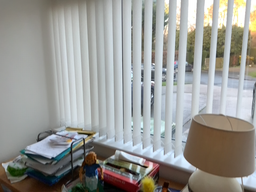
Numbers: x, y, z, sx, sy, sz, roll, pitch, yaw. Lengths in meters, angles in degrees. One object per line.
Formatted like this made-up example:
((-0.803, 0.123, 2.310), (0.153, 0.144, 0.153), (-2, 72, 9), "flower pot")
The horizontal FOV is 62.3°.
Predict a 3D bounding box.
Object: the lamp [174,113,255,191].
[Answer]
((0.390, 0.340, 0.950), (0.290, 0.450, 0.240), (7, 14, 32), "lamp")

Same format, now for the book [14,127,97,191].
((-0.450, 0.380, 1.370), (0.310, 0.200, 0.380), (7, 14, 33), "book")
